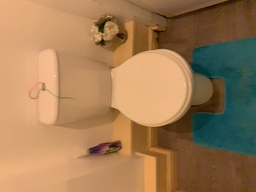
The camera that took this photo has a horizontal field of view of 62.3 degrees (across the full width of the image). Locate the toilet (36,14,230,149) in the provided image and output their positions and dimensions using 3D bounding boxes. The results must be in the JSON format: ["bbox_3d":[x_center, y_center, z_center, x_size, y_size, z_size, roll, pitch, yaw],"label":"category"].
[{"bbox_3d":[0.040,-0.050,1.090,0.640,0.760,0.380,3,92,46],"label":"toilet"}]
